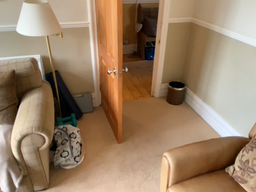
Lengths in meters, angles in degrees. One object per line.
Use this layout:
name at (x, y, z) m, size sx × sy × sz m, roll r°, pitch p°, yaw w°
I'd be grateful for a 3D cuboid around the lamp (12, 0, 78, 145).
lamp at (-0.750, -0.200, 2.080) m, size 0.330 × 1.400 × 0.370 m, roll -8°, pitch 32°, yaw -16°
